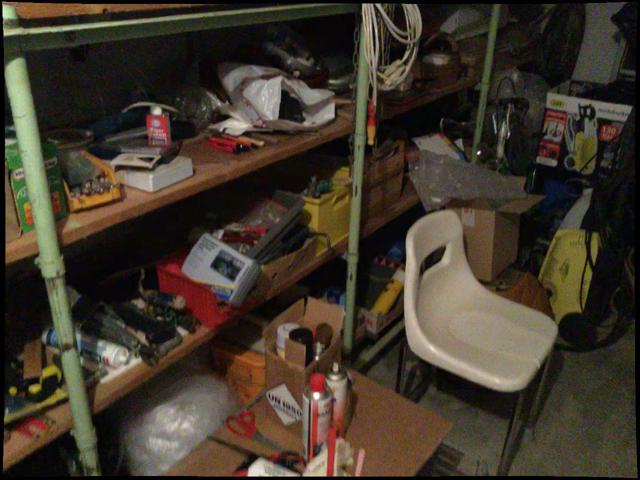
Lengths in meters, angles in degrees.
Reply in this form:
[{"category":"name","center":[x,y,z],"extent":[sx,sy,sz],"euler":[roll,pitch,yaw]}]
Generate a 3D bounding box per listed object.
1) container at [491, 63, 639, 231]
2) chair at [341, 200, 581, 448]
[{"category":"container","center":[1.279,-0.420,2.510],"extent":[0.810,0.470,0.600],"euler":[20,34,30]},{"category":"chair","center":[0.400,0.200,1.670],"extent":[0.480,0.380,0.480],"euler":[20,34,30]}]
